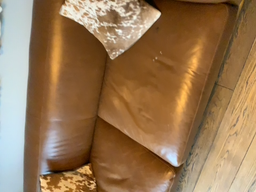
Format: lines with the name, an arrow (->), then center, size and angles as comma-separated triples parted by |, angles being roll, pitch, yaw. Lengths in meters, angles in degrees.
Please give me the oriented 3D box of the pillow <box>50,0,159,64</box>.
pillow -> -0.100, -0.420, 1.090 | 0.380, 0.420, 0.130 | -16, 41, 26
